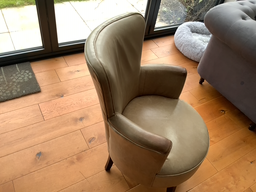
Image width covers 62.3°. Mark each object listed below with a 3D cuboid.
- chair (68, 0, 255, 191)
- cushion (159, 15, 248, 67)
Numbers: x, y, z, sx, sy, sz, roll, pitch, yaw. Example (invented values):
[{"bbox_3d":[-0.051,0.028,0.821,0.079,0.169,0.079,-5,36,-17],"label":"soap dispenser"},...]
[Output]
[{"bbox_3d":[0.160,0.040,1.250,0.750,0.830,0.590,30,48,17],"label":"chair"},{"bbox_3d":[0.890,-0.690,2.530,0.820,0.190,0.610,-17,52,-26],"label":"cushion"}]
